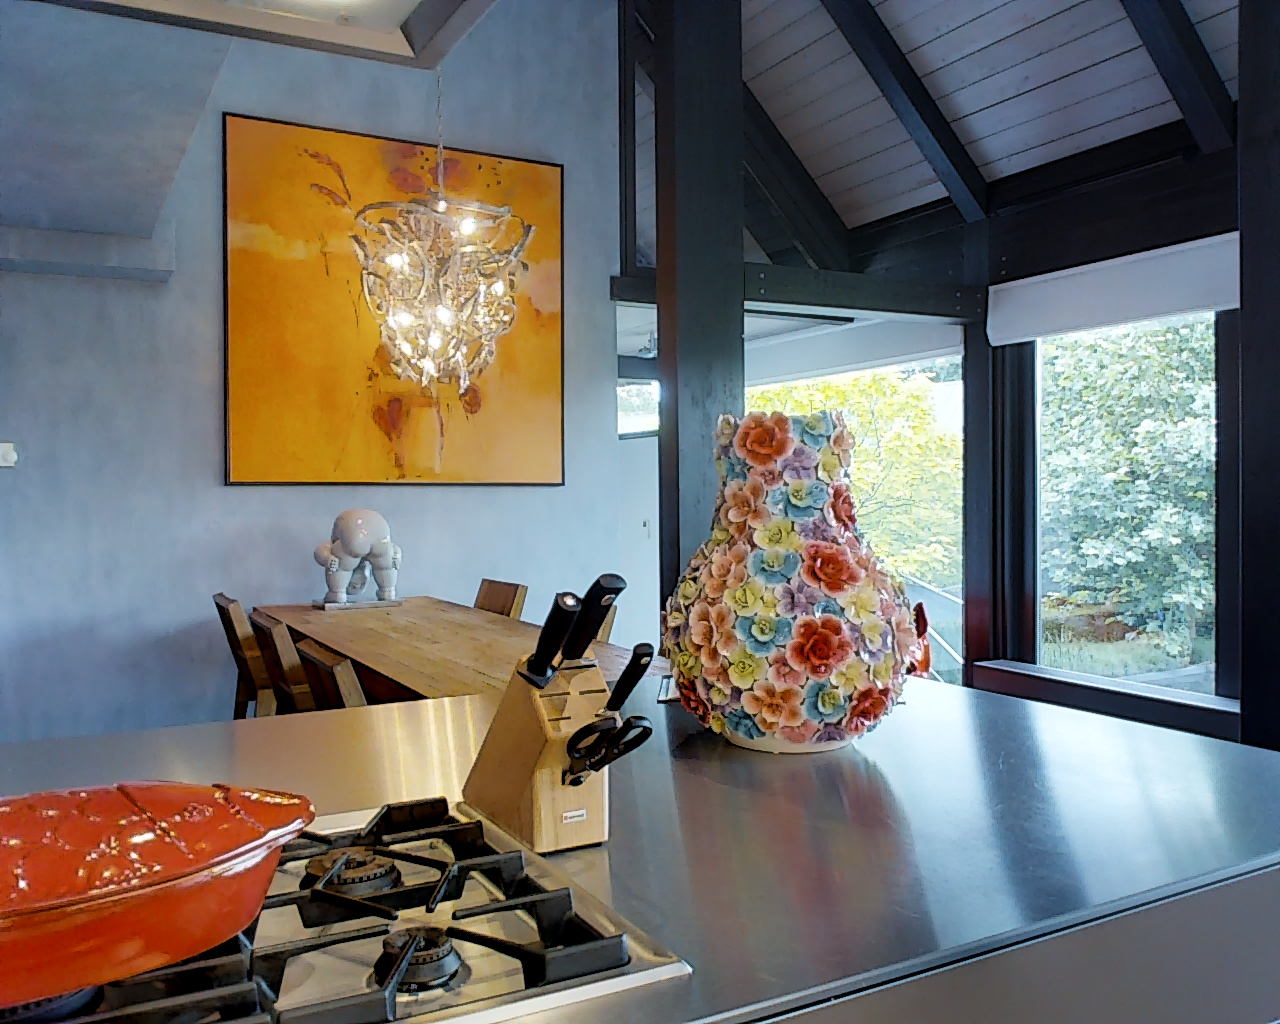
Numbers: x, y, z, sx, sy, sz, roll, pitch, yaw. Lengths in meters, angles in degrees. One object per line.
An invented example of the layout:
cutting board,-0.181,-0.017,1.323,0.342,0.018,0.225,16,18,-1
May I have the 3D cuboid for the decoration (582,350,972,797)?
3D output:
decoration,0.210,0.070,1.590,0.410,0.540,0.420,1,1,39
